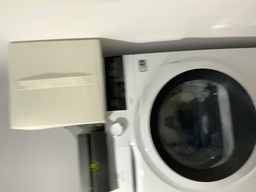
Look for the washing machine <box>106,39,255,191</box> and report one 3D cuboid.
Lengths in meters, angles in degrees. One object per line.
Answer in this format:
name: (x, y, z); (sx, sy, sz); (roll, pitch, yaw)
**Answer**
washing machine: (0.320, 0.120, 1.150); (0.690, 0.800, 0.620); (122, 144, -85)
